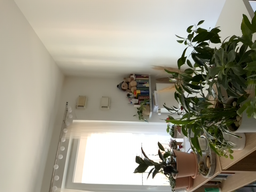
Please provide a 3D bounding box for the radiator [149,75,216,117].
[{"bbox_3d":[0.910,-0.010,3.710,0.220,1.050,0.670,94,178,-59],"label":"radiator"}]
